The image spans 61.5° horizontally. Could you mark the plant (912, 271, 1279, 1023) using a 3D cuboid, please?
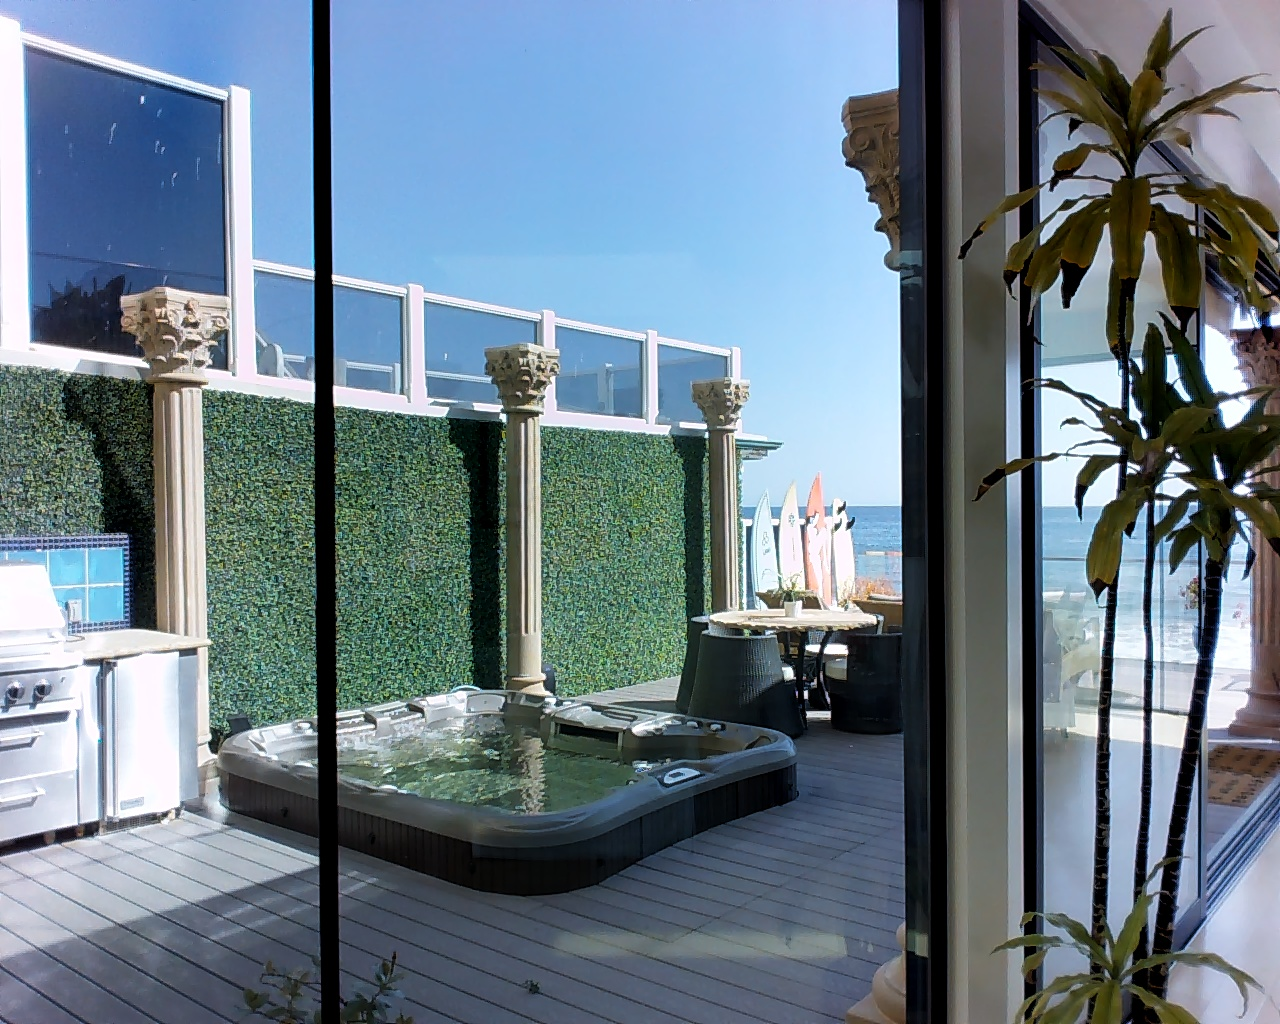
[{"bbox_3d":[1.050,0.550,2.070,0.830,1.831,0.590,-1,1,-28],"label":"plant"}]
